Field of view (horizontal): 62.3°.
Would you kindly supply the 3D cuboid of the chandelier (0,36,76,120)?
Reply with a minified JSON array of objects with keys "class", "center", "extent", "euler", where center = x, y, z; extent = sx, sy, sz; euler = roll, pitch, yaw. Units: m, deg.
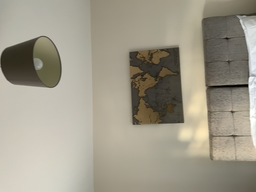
[{"class":"chandelier","center":[-0.560,-0.110,1.170],"extent":[0.390,0.360,0.310],"euler":[-76,160,-60]}]
